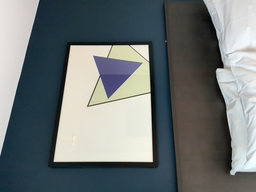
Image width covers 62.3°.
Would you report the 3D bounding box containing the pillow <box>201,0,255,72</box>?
[{"bbox_3d":[0.770,-0.530,1.380,0.370,0.460,0.590,63,-155,-61],"label":"pillow"}]
